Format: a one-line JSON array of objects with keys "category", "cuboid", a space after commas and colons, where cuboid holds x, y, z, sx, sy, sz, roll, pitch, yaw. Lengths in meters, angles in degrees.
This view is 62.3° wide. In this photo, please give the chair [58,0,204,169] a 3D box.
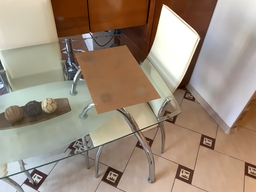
[{"category": "chair", "cuboid": [-0.030, -0.030, 1.300, 0.560, 0.970, 0.370, -14, 49, -18]}]

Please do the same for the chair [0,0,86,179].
[{"category": "chair", "cuboid": [-0.530, -0.020, 1.250, 0.350, 0.970, 0.530, -15, 49, -18]}]

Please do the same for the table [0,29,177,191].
[{"category": "table", "cuboid": [-0.490, 0.200, 1.220, 1.130, 0.700, 0.800, -13, 48, -17]}]
